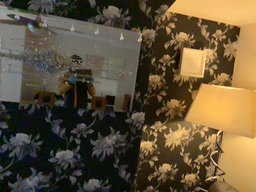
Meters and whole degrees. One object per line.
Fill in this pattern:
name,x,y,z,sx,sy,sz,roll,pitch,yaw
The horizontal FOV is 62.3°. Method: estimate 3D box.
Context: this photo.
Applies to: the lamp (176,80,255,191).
lamp,0.810,0.300,1.880,0.510,0.810,0.420,10,5,41
